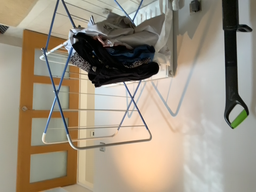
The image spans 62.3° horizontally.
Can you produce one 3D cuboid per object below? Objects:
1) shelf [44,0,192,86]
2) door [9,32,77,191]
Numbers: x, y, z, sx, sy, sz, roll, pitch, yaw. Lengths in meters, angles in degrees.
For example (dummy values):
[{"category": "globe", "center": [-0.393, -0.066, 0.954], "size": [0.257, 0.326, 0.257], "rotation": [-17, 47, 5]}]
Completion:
[{"category": "shelf", "center": [-0.020, -0.510, 1.320], "size": [0.470, 0.780, 0.790], "rotation": [-5, 174, 44]}, {"category": "door", "center": [-1.050, 0.250, 2.740], "size": [0.800, 1.980, 0.070], "rotation": [4, 174, -42]}]
